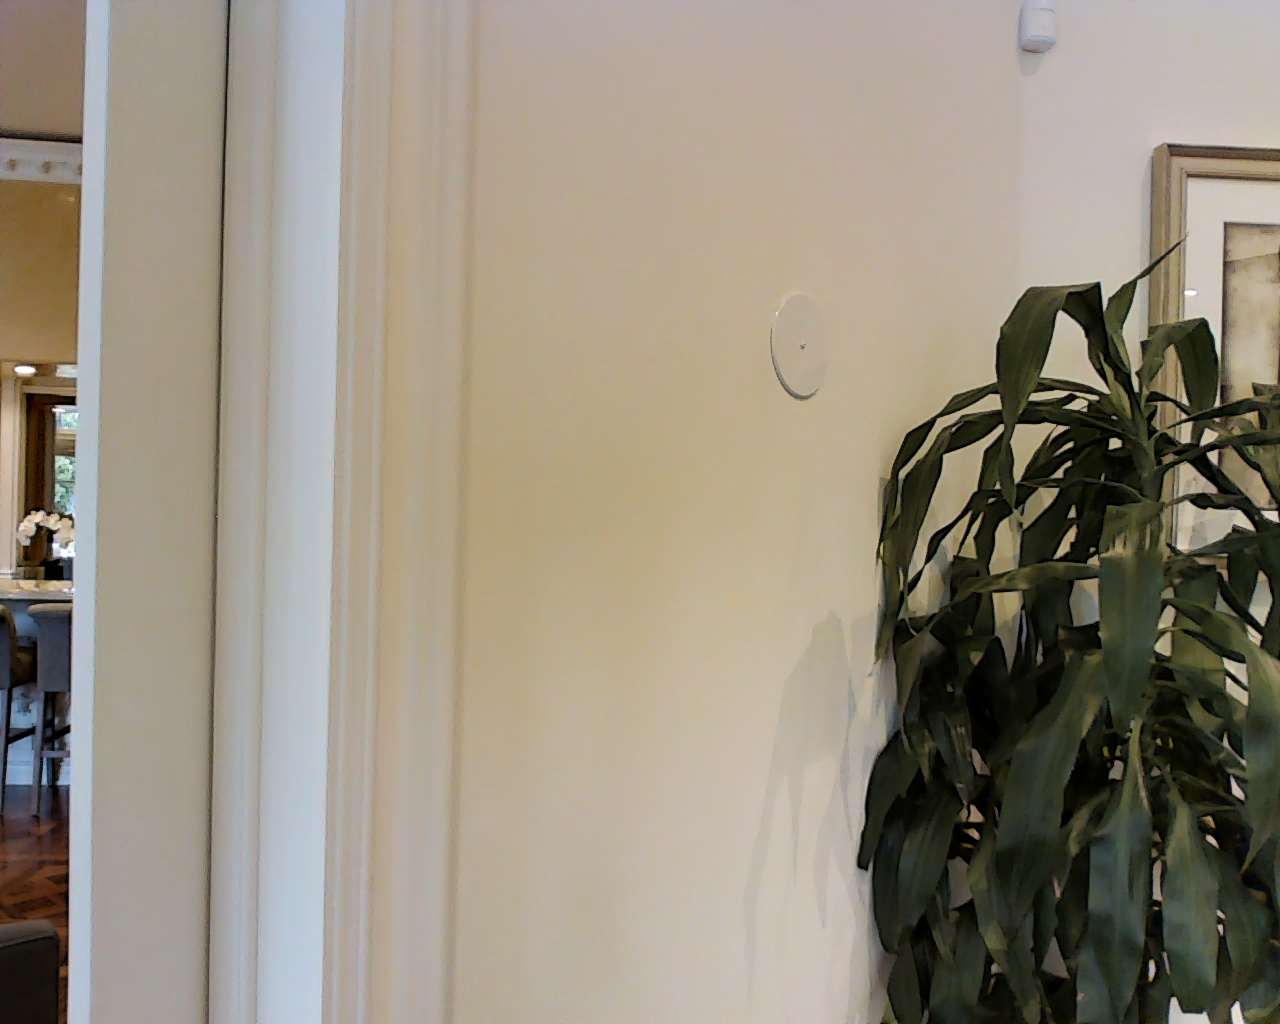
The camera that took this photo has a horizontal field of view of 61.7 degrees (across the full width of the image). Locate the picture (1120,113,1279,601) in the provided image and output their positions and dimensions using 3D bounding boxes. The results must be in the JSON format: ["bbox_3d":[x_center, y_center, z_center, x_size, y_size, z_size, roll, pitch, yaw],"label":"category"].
[{"bbox_3d":[1.280,-0.260,1.920,0.800,0.840,0.070,2,0,-4],"label":"picture"}]
